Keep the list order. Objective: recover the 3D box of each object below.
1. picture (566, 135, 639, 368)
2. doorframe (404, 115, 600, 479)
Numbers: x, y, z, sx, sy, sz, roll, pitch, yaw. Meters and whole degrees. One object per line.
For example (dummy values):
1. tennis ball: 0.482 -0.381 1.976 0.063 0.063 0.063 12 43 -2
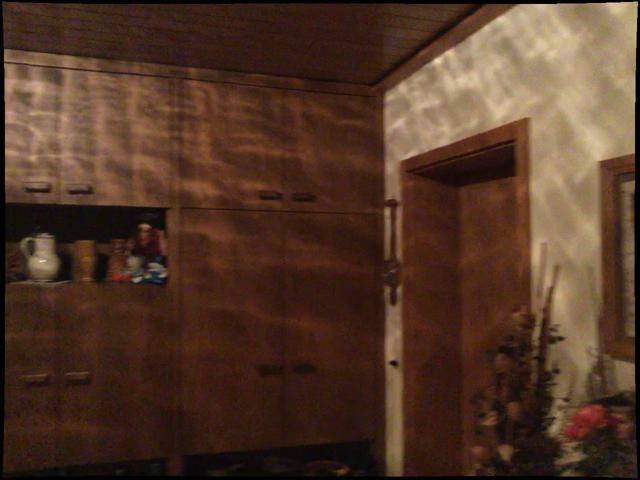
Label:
1. picture: 0.849 0.030 1.280 0.050 0.571 0.820 0 1 -16
2. doorframe: 0.649 0.621 2.280 0.290 2.032 0.880 0 1 -16
